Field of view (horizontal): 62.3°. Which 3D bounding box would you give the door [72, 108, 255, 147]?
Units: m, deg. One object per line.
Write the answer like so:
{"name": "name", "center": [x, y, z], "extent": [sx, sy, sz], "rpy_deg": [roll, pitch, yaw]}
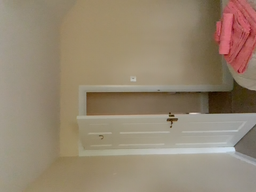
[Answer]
{"name": "door", "center": [0.410, 0.390, 2.490], "extent": [0.740, 1.980, 0.080], "rpy_deg": [95, 173, -54]}
